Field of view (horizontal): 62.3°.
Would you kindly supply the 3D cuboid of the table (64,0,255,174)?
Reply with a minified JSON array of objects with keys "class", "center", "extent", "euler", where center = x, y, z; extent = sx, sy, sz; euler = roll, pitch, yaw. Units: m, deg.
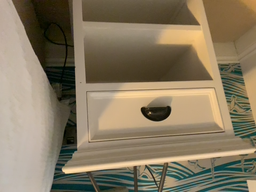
[{"class":"table","center":[0.020,-0.080,0.790],"extent":[0.450,0.620,0.490],"euler":[-3,164,-12]}]
